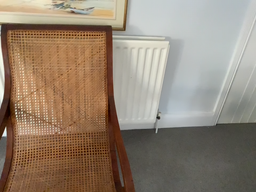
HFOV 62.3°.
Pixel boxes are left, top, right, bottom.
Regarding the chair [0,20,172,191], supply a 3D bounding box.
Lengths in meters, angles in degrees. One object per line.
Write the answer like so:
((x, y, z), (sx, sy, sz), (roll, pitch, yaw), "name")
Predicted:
((-0.350, 0.210, 1.070), (0.690, 0.890, 0.970), (-1, 32, -10), "chair")
